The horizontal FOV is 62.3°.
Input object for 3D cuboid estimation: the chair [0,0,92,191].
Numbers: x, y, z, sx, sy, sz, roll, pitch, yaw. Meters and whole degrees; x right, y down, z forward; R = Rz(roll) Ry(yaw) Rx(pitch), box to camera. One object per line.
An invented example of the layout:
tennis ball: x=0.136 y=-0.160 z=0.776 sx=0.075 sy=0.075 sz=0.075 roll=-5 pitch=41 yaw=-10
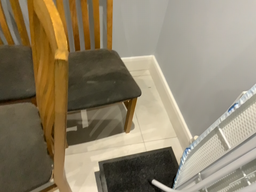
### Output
chair: x=-0.480 y=0.150 z=0.820 sx=0.540 sy=0.980 sz=0.480 roll=-15 pitch=57 yaw=-19

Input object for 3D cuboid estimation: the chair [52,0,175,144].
chair: x=-0.160 y=-0.250 z=1.180 sx=0.380 sy=0.970 sz=0.610 roll=-8 pitch=55 yaw=-14
